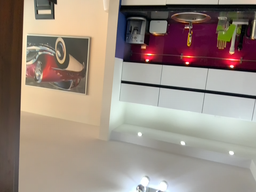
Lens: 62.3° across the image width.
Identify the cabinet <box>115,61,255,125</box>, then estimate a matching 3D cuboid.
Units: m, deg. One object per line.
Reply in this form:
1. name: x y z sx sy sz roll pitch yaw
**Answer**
1. cabinet: 1.020 -0.060 2.950 2.380 0.620 0.380 9 -172 19
